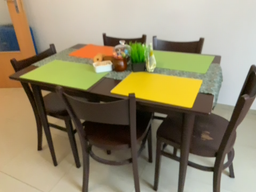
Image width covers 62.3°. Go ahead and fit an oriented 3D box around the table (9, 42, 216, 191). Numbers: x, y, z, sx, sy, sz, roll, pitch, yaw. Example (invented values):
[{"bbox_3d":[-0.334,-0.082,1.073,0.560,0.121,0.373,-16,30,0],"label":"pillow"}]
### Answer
[{"bbox_3d":[-0.050,0.130,1.500,1.090,0.760,0.690,11,32,21],"label":"table"}]
